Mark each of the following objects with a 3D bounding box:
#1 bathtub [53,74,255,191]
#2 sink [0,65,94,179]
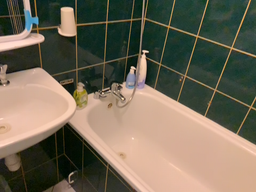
[{"bbox_3d":[0.350,0.570,1.120,0.690,0.580,1.700,-21,43,-39],"label":"bathtub"},{"bbox_3d":[-0.500,0.090,0.840,0.580,0.170,0.410,-21,43,-39],"label":"sink"}]
